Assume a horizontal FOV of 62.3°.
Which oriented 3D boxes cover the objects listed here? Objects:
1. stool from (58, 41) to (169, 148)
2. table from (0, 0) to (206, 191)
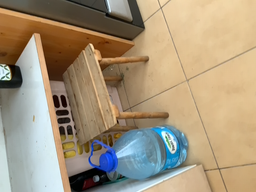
[{"bbox_3d":[-0.060,0.000,0.850,0.220,0.300,0.310,-33,68,41],"label":"stool"},{"bbox_3d":[-0.310,0.080,0.720,0.630,0.840,0.560,-31,69,41],"label":"table"}]
